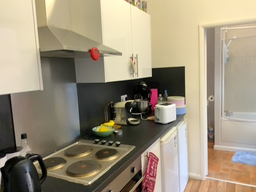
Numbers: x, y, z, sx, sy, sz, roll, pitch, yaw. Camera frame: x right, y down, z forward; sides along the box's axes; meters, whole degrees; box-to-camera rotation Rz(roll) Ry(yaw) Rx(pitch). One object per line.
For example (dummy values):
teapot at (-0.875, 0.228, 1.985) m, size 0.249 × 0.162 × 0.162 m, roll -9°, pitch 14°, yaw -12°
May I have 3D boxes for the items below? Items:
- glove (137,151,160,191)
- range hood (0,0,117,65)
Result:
glove at (0.170, 0.640, 1.680) m, size 0.080 × 0.310 × 0.260 m, roll 2°, pitch 8°, yaw 29°
range hood at (-0.460, -0.730, 1.400) m, size 0.540 × 1.020 × 0.530 m, roll 1°, pitch 8°, yaw 25°
